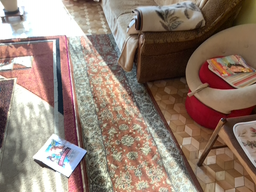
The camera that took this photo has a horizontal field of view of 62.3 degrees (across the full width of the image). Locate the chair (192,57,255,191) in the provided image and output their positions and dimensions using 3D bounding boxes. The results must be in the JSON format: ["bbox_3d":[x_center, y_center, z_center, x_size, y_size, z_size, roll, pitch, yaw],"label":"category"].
[{"bbox_3d":[0.810,0.250,1.140,0.540,0.840,0.460,-10,45,-15],"label":"chair"}]
